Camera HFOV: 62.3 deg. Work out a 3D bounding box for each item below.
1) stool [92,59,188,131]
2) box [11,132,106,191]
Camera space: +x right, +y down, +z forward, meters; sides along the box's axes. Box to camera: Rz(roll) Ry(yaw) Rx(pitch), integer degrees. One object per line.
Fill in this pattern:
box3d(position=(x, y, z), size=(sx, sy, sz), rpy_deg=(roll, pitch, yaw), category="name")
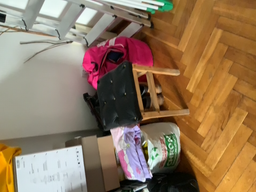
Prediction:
box3d(position=(0.080, 0.000, 1.360), size=(0.300, 0.480, 0.340), rpy_deg=(-25, 72, 49), category="stool")
box3d(position=(-0.450, 0.460, 1.320), size=(0.460, 0.390, 0.340), rpy_deg=(-29, 69, 48), category="box")
